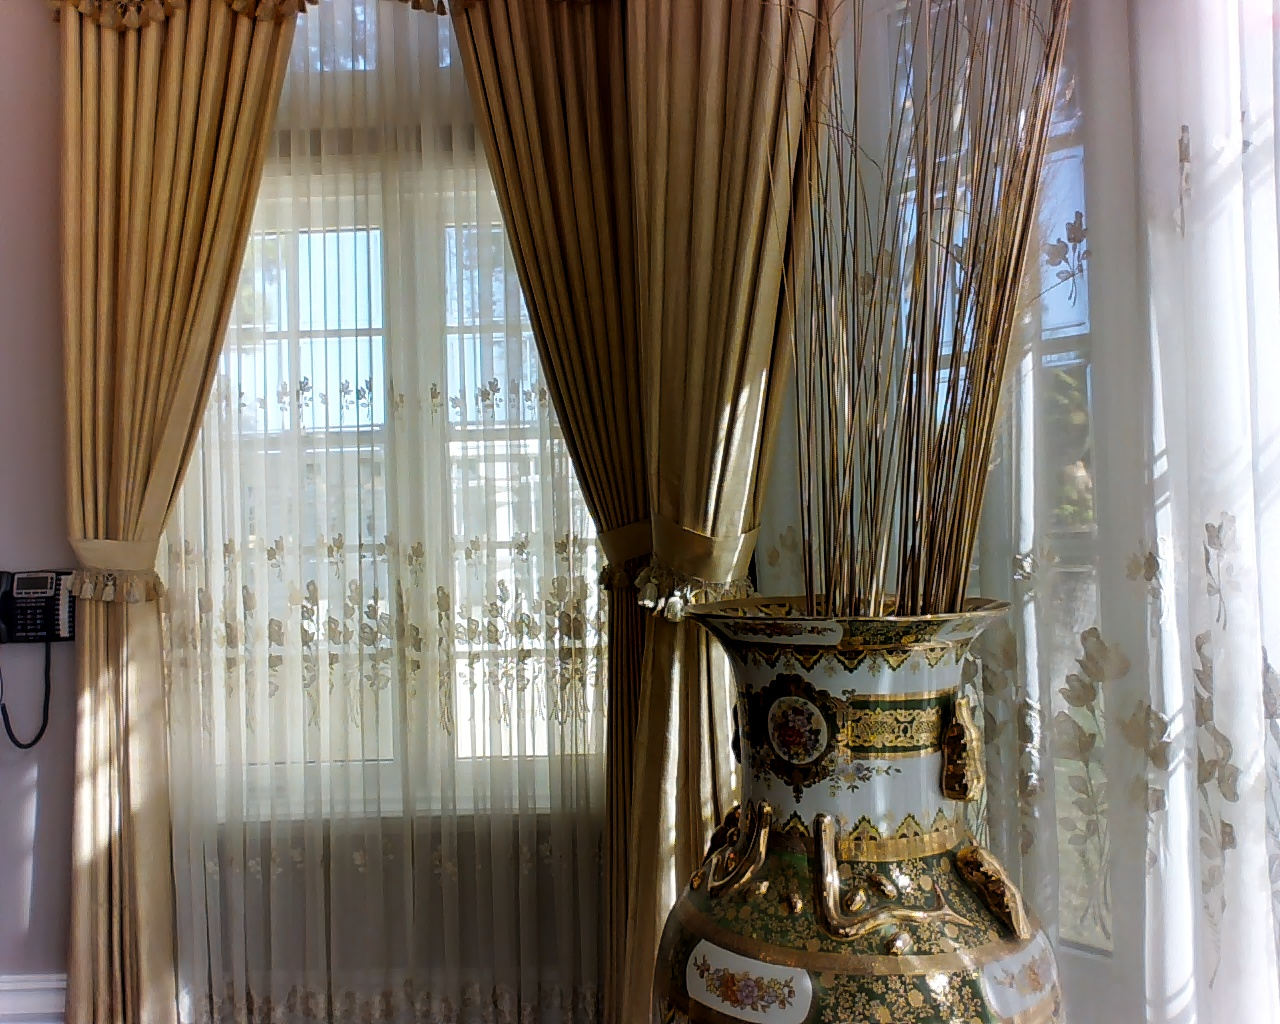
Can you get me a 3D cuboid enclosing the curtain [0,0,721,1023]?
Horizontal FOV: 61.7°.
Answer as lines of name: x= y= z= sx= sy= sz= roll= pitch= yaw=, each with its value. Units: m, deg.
curtain: x=-0.770 y=-0.450 z=2.910 sx=1.820 sy=3.859 sz=0.310 roll=-2 pitch=-1 yaw=1
